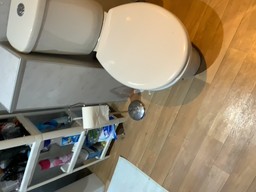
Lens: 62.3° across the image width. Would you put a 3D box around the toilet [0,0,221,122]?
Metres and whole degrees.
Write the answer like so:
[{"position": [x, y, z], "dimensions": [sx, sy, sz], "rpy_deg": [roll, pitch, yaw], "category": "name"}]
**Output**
[{"position": [-0.040, -0.260, 1.030], "dimensions": [0.650, 0.830, 0.400], "rpy_deg": [30, 108, 30], "category": "toilet"}]
